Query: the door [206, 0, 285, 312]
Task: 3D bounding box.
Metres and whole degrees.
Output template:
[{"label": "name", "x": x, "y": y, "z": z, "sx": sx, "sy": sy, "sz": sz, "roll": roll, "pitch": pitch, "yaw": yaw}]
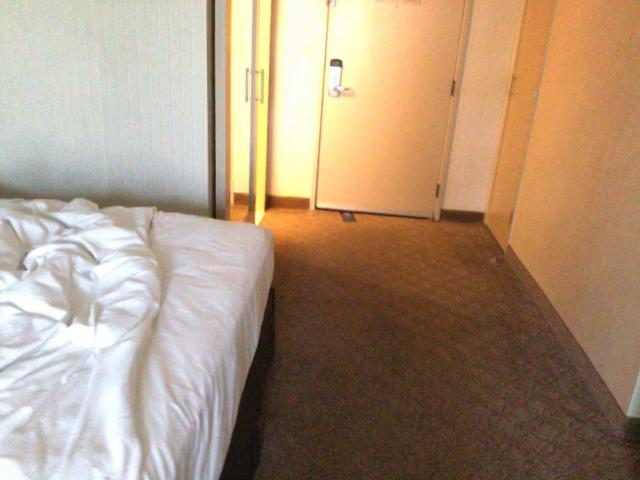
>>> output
[{"label": "door", "x": -0.350, "y": -0.670, "z": 3.020, "sx": 0.180, "sy": 1.750, "sz": 1.130, "roll": 3, "pitch": 20, "yaw": 3}]
